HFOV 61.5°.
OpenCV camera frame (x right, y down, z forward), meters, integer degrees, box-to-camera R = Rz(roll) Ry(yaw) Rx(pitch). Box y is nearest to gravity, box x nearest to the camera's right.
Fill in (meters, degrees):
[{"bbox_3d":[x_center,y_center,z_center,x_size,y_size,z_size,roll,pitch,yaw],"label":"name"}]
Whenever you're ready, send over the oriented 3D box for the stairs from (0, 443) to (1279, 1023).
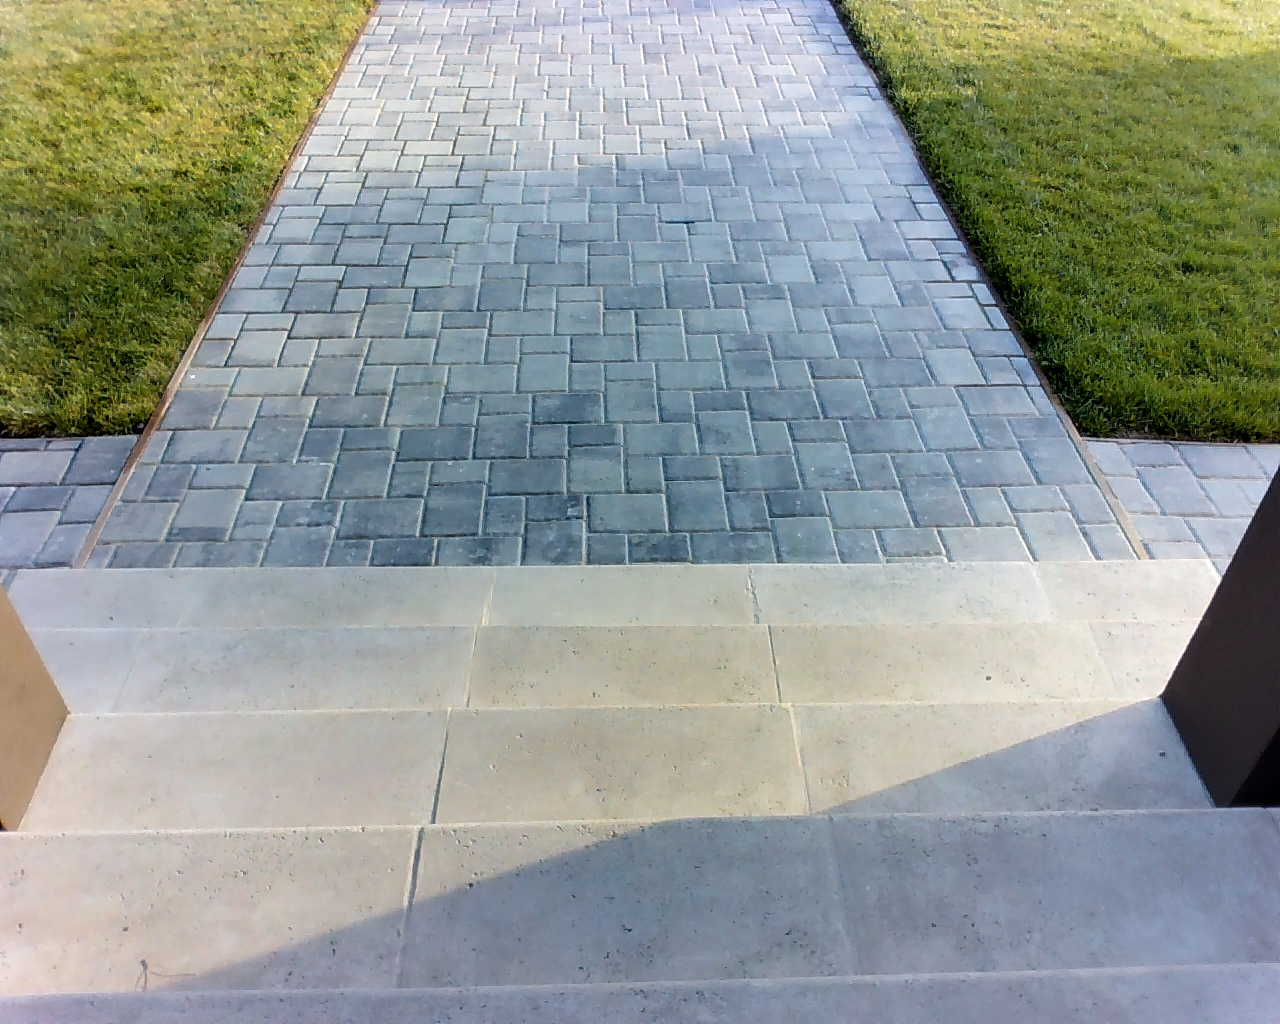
[{"bbox_3d":[0.030,0.660,2.120,3.100,0.790,1.510,-1,42,-2],"label":"stairs"}]
